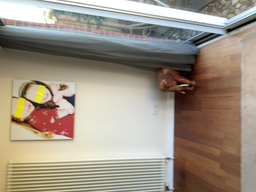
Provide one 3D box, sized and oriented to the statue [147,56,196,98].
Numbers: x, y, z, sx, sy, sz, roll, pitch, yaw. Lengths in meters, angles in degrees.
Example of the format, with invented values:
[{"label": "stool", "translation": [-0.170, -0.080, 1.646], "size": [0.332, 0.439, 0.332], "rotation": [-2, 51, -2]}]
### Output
[{"label": "statue", "translation": [0.560, -0.250, 2.840], "size": [0.270, 0.450, 0.480], "rotation": [112, 154, -46]}]
